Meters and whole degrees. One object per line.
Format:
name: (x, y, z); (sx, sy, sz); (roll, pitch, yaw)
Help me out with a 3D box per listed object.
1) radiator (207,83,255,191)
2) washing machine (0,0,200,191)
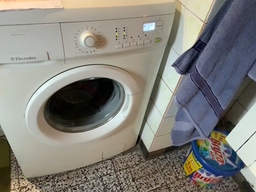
radiator: (0.600, 0.220, 0.900); (0.110, 0.470, 0.390); (-13, 51, -24)
washing machine: (-0.270, -0.130, 1.010); (0.630, 0.850, 0.660); (-11, 51, -23)
